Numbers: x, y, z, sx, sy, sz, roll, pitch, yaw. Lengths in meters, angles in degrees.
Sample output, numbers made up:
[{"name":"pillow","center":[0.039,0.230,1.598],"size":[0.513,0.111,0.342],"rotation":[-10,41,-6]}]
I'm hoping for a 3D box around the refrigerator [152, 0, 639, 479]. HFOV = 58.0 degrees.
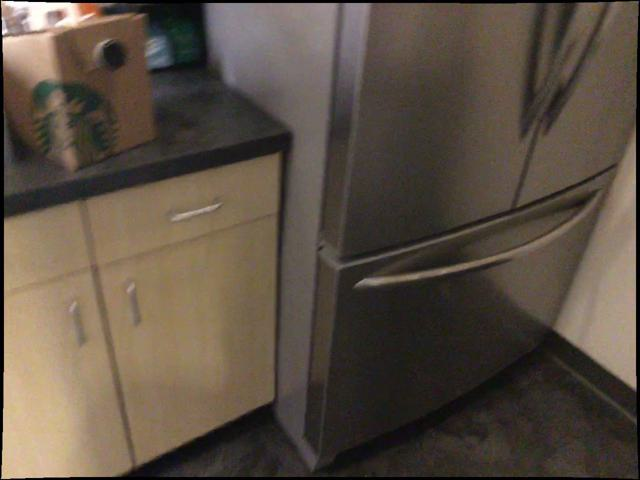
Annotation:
[{"name":"refrigerator","center":[0.209,-0.441,1.430],"size":[0.949,1.743,0.960],"rotation":[-18,43,-25]}]
